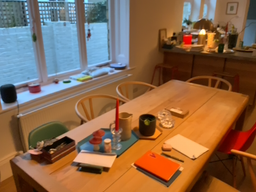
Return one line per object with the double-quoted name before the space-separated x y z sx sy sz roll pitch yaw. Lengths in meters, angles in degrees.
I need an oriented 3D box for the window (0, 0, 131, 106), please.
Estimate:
"window" -0.880 -0.940 2.600 0.540 1.560 2.260 17 27 36
